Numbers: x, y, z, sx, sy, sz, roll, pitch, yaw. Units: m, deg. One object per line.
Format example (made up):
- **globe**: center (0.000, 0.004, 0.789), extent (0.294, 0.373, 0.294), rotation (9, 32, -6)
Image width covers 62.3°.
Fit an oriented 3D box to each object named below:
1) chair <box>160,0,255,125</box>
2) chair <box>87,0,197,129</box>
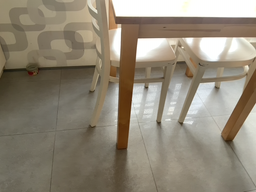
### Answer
- **chair**: center (0.530, -0.260, 1.260), extent (0.460, 0.800, 0.400), rotation (-3, 42, -9)
- **chair**: center (0.010, -0.240, 1.190), extent (0.430, 0.800, 0.400), rotation (-2, 42, -8)
